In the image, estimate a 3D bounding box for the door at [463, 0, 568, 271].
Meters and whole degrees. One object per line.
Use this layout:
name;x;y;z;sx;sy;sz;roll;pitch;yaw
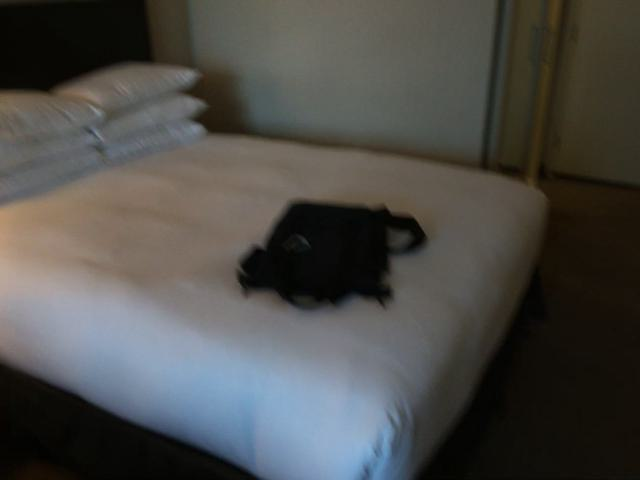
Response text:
door;1.050;-0.980;2.940;0.200;2.010;1.090;11;25;27

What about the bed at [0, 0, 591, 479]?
bed;-0.410;-0.210;1.930;2.100;1.580;1.750;11;25;27
